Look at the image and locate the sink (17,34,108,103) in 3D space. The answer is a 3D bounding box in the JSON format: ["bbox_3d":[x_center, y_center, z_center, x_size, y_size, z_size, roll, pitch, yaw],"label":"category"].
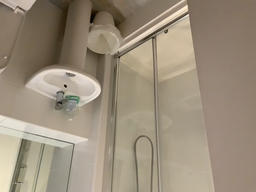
[{"bbox_3d":[-0.420,-0.150,1.420,0.340,0.170,0.450,-22,145,37],"label":"sink"}]

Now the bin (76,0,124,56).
[{"bbox_3d":[-0.230,-0.560,1.800,0.270,0.250,0.280,-23,144,39],"label":"bin"}]
